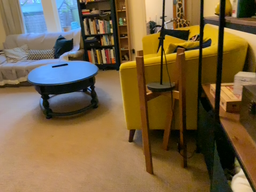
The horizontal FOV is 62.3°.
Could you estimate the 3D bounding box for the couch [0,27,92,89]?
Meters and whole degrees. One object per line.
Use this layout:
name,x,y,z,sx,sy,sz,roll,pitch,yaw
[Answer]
couch,-1.660,-0.710,3.810,1.680,0.820,1.040,-2,21,8

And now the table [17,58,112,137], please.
table,-0.800,-0.090,2.570,0.820,0.430,1.210,-13,23,-20

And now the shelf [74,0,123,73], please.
shelf,-0.540,-1.410,3.870,0.670,1.890,0.380,-2,21,9

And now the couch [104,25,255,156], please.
couch,0.500,-0.290,2.370,0.950,0.760,2.010,-1,22,10
